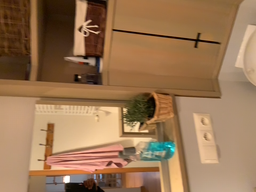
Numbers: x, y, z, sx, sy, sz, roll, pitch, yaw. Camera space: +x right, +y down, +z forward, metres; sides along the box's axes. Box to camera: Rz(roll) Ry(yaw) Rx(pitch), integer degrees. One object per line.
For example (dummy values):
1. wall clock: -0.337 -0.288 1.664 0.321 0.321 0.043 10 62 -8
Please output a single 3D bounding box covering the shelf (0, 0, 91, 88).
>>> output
1. shelf: -0.460 -0.370 0.960 0.290 0.550 0.570 -115 31 -61
